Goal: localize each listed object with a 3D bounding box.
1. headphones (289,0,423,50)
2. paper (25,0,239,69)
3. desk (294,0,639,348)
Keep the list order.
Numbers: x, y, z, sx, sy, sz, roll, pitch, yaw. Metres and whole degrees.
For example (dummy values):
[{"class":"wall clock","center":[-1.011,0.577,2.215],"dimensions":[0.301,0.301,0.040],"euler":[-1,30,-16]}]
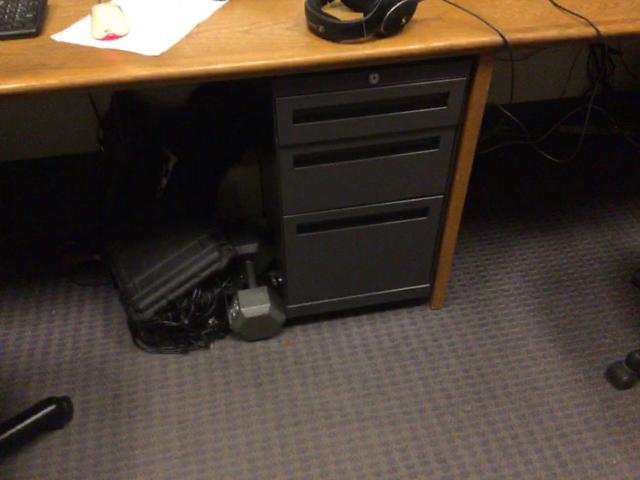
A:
[{"class":"headphones","center":[0.050,-0.460,1.050],"dimensions":[0.180,0.100,0.280],"euler":[-10,42,-9]},{"class":"paper","center":[-0.330,-0.420,1.040],"dimensions":[0.320,0.050,0.330],"euler":[-10,42,-9]},{"class":"desk","center":[1.000,-0.500,1.620],"dimensions":[2.000,0.850,0.870],"euler":[-10,42,-9]}]
